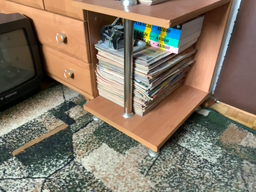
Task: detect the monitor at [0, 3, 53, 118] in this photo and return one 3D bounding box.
[{"bbox_3d":[-0.610,-0.150,0.870,0.360,0.350,0.380,25,41,29],"label":"monitor"}]
